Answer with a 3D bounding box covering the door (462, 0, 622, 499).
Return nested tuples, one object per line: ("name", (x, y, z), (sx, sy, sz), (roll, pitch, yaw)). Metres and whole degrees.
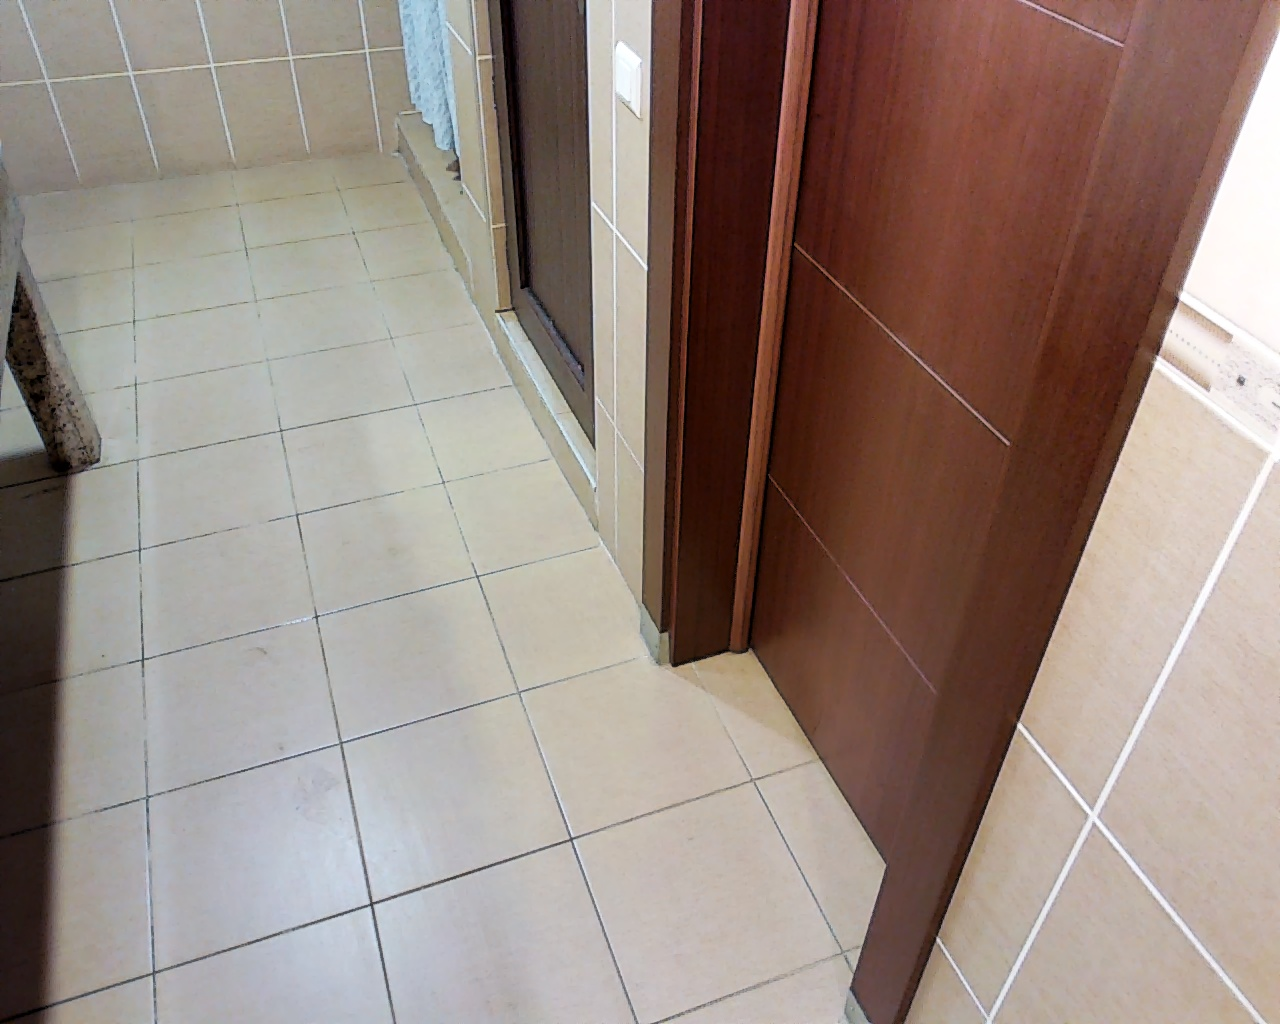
("door", (-0.210, -1.080, 1.900), (0.060, 2.090, 0.840), (-14, 43, -16))
